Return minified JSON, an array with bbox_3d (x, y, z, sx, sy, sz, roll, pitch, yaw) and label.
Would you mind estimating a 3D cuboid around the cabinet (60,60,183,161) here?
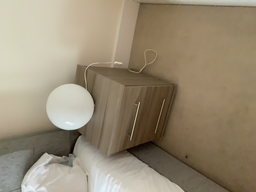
[{"bbox_3d":[-0.060,0.040,1.410,0.560,0.510,0.420,24,110,42],"label":"cabinet"}]
